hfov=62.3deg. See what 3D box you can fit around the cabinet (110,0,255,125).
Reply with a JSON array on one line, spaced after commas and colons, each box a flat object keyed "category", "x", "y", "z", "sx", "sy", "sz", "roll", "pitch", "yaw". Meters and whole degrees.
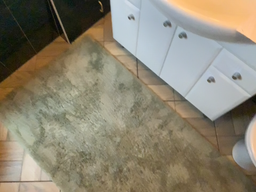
[{"category": "cabinet", "x": 0.330, "y": -0.340, "z": 1.090, "sx": 0.830, "sy": 0.720, "sz": 0.360, "roll": 42, "pitch": 74, "yaw": 13}]
